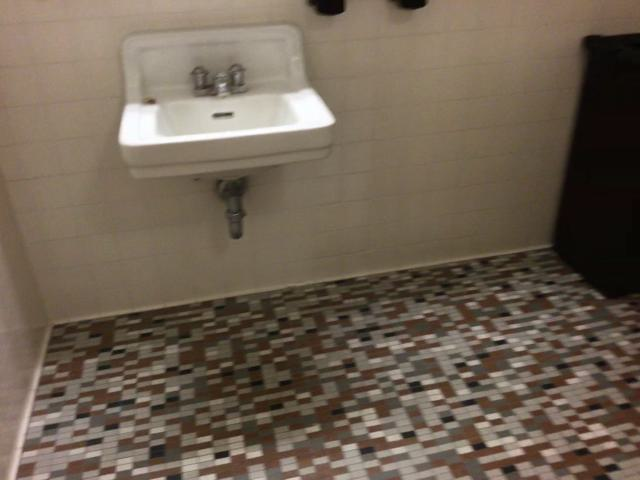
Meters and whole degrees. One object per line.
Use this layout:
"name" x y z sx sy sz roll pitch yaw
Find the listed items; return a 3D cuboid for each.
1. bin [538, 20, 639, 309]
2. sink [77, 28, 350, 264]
"bin" 1.140 -0.270 1.930 0.520 0.820 0.440 -8 30 -9
"sink" -0.260 -0.280 1.530 0.560 0.420 0.490 -8 30 -9
